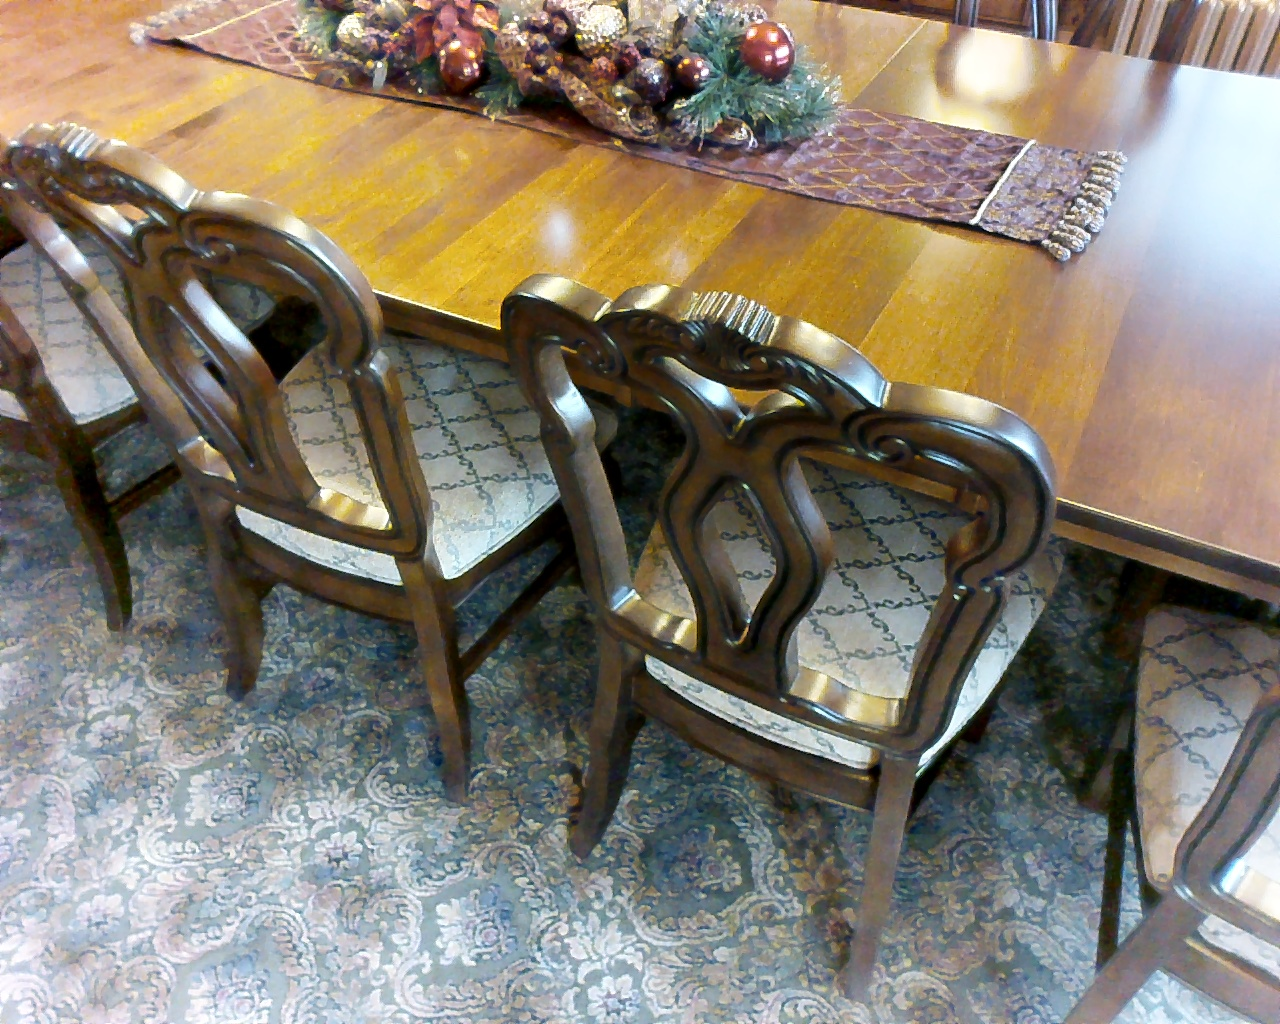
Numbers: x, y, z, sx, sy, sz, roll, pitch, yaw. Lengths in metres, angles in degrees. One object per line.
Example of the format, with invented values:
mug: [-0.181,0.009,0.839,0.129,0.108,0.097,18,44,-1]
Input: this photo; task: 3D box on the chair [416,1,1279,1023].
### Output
chair: [0.240,0.070,1.350,0.650,1.080,0.610,20,46,20]

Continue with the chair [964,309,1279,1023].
chair: [0.870,0.320,1.330,0.640,0.750,0.710,18,45,18]

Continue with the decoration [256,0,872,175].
decoration: [-0.160,-0.890,1.860,1.050,0.280,0.320,20,46,20]
